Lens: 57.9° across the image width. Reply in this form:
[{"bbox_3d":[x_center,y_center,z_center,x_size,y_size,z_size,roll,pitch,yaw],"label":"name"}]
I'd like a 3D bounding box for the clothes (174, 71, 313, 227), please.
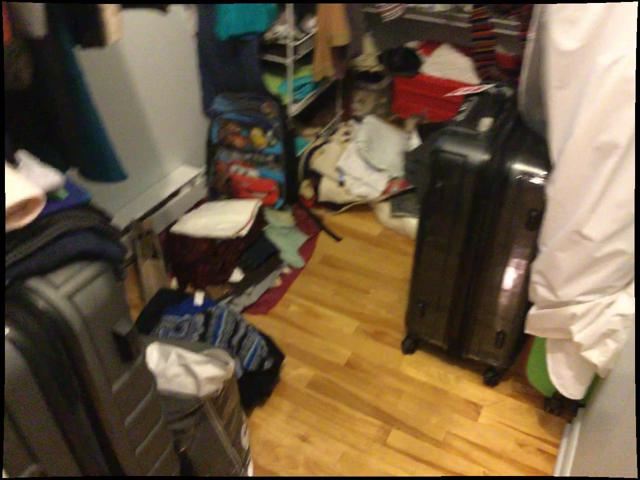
[{"bbox_3d":[-0.250,-0.320,2.010,0.390,0.390,0.230,19,43,21],"label":"clothes"}]

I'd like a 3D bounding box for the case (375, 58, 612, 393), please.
[{"bbox_3d":[0.420,-0.040,1.480,0.360,0.650,0.440,20,43,22],"label":"case"}]
